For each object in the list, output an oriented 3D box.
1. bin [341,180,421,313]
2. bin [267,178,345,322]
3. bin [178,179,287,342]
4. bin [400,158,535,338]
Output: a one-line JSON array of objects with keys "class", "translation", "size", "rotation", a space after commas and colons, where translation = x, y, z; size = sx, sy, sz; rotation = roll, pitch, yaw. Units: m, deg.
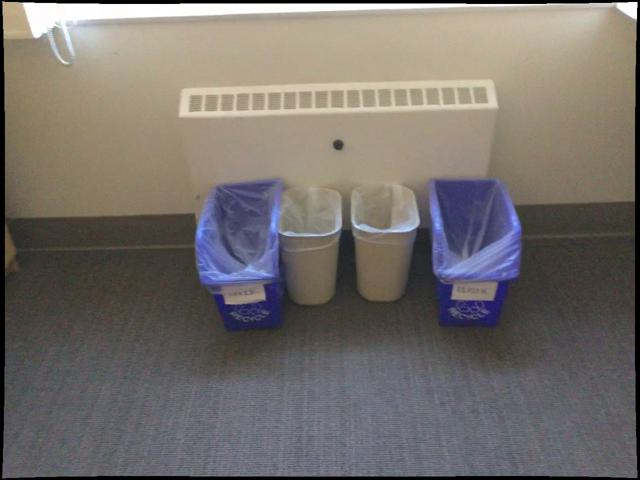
[{"class": "bin", "translation": [0.199, 0.020, 1.990], "size": [0.229, 0.331, 0.310], "rotation": [-3, 35, 0]}, {"class": "bin", "translation": [-0.040, 0.030, 1.970], "size": [0.229, 0.351, 0.340], "rotation": [-3, 35, 0]}, {"class": "bin", "translation": [-0.269, 0.060, 1.940], "size": [0.279, 0.361, 0.410], "rotation": [-3, 35, 0]}, {"class": "bin", "translation": [0.459, 0.010, 1.940], "size": [0.299, 0.361, 0.510], "rotation": [-3, 35, 0]}]
